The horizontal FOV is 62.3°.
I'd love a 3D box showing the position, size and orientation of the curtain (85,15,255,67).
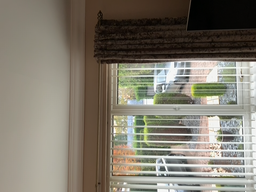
[{"bbox_3d":[0.730,-0.510,2.000,0.210,2.240,0.400,40,-131,-85],"label":"curtain"}]
